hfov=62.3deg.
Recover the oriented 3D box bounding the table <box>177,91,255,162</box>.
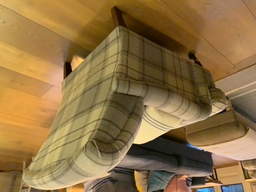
[{"bbox_3d":[1.220,0.440,2.520,1.240,0.420,0.600,24,142,-38],"label":"table"}]

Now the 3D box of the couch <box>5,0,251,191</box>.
[{"bbox_3d":[0.000,0.130,1.410,1.050,0.920,0.900,22,144,-36],"label":"couch"}]

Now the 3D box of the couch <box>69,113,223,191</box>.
[{"bbox_3d":[0.350,1.130,3.260,2.110,0.920,1.090,22,144,-36],"label":"couch"}]
